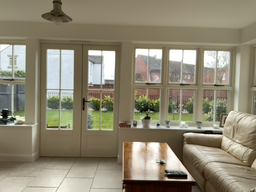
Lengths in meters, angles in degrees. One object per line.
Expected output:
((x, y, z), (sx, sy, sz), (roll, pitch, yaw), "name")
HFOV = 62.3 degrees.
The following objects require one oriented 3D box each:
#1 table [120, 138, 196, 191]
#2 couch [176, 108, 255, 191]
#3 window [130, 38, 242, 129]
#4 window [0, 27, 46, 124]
((0.220, 0.890, 2.340), (0.610, 0.540, 1.250), (1, 3, -2), "table")
((1.250, 0.720, 2.440), (0.880, 0.920, 2.100), (1, 3, -1), "couch")
((1.000, -0.210, 3.770), (1.880, 1.540, 0.200), (1, 3, -1), "window")
((-2.580, -0.360, 3.770), (2.140, 1.670, 0.220), (1, 3, -3), "window")
